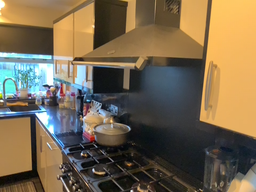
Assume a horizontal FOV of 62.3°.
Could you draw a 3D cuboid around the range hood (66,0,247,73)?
[{"bbox_3d":[0.070,-0.550,1.360,0.580,0.730,1.070,-4,11,-35],"label":"range hood"}]
